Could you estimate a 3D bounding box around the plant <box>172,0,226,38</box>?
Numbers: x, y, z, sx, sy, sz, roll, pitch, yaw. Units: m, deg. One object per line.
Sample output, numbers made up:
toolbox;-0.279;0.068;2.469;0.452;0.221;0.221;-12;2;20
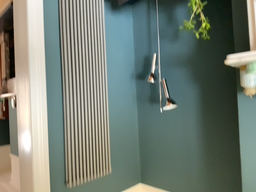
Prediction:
plant;0.530;-0.740;1.590;0.260;0.500;0.330;-3;179;45
